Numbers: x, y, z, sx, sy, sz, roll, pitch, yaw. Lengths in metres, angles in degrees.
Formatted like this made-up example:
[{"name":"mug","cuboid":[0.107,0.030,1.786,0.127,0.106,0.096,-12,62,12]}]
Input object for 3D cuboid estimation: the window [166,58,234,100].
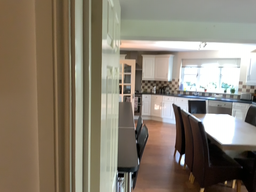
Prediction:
[{"name":"window","cuboid":[2.170,-0.570,6.640,1.970,1.180,0.200,6,8,36]}]
